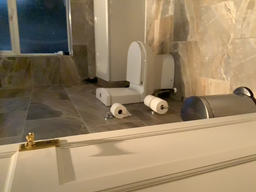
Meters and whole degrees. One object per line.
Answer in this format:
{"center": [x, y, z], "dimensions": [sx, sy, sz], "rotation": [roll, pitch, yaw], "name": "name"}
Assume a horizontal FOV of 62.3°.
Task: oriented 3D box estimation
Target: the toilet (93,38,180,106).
{"center": [0.080, -0.280, 2.240], "dimensions": [0.420, 0.790, 0.610], "rotation": [-151, 59, -64], "name": "toilet"}

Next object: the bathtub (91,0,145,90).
{"center": [-0.160, -1.030, 2.980], "dimensions": [0.680, 0.540, 1.770], "rotation": [-152, 60, -65], "name": "bathtub"}

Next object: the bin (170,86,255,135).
{"center": [0.580, 0.080, 1.460], "dimensions": [0.300, 0.470, 0.220], "rotation": [-154, 61, -65], "name": "bin"}
